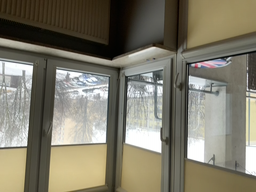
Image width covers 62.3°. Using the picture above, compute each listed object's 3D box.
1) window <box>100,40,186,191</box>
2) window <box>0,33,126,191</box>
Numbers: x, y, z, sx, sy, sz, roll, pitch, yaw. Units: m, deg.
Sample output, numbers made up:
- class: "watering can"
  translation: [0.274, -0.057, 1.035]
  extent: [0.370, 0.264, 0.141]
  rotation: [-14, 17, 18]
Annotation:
- class: "window"
  translation: [0.090, 0.370, 2.080]
  extent: [0.250, 1.570, 0.960]
  rotation: [5, 175, -34]
- class: "window"
  translation: [-1.130, 0.280, 1.790]
  extent: [2.500, 1.600, 0.200]
  rotation: [5, 175, -35]
